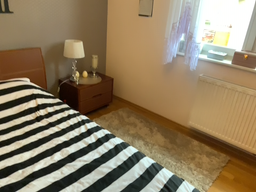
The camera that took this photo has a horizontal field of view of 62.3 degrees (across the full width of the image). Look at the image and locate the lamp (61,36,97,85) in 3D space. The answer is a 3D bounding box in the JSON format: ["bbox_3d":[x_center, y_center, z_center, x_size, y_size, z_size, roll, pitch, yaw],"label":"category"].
[{"bbox_3d":[-0.620,-0.460,2.690,0.300,0.530,0.320,26,31,38],"label":"lamp"}]
